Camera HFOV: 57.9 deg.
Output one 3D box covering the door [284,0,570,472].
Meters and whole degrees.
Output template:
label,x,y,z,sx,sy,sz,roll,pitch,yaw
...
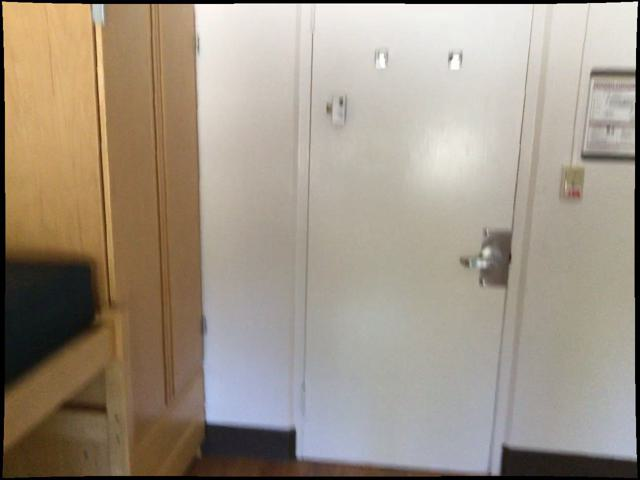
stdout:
label,x,y,z,sx,sy,sz,roll,pitch,yaw
door,0.360,-0.060,2.270,0.969,1.982,0.150,3,13,7
